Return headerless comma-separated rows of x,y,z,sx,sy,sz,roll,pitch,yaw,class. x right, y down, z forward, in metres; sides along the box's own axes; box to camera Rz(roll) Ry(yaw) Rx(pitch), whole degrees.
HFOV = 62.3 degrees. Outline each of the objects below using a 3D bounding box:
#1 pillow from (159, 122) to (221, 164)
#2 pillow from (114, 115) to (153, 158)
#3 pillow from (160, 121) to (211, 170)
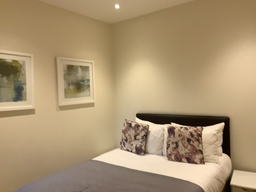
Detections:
0.760,0.530,2.570,0.590,0.340,0.480,-1,2,35,pillow
0.060,0.530,2.830,0.430,0.400,0.170,20,14,35,pillow
0.640,0.540,2.390,0.460,0.360,0.170,18,13,32,pillow
